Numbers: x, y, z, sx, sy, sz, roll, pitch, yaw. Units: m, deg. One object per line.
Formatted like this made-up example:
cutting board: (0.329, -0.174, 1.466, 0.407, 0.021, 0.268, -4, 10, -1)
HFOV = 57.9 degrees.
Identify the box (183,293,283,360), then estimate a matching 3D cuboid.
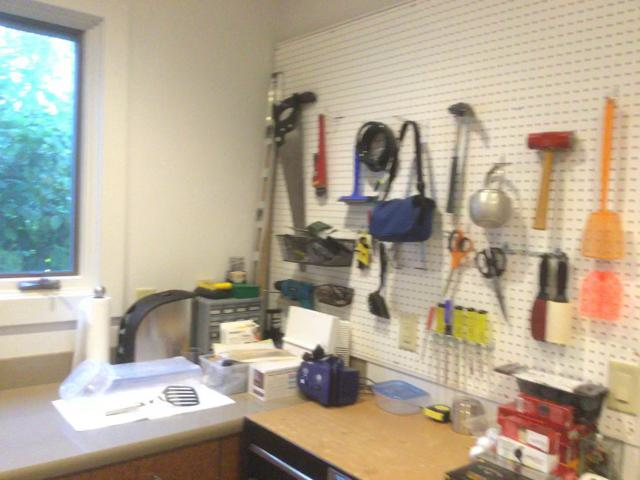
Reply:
box: (-0.320, 0.310, 2.140, 0.290, 0.190, 0.210, 1, 2, -41)

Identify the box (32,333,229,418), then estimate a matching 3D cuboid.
box: (-0.610, 0.410, 1.850, 0.460, 0.110, 0.440, 1, 2, -41)
